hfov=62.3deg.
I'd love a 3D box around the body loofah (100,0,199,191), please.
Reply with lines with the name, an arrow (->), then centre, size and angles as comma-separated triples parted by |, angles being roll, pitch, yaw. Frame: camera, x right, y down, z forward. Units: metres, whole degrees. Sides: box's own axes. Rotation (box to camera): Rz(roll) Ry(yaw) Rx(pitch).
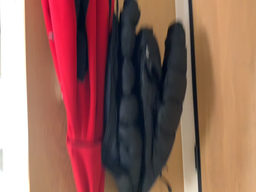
body loofah -> 0.130, -0.050, 1.020 | 0.140, 1.040, 0.530 | -4, 178, 43

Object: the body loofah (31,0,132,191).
body loofah -> -0.170, -0.160, 0.760 | 0.220, 1.220, 0.250 | -4, 178, 42
